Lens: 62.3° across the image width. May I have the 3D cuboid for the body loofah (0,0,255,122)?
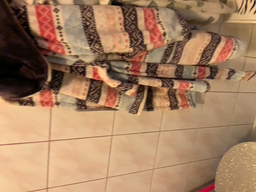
[{"bbox_3d":[0.080,-0.140,0.780,0.220,1.120,0.370,32,117,58],"label":"body loofah"}]
